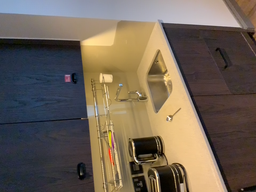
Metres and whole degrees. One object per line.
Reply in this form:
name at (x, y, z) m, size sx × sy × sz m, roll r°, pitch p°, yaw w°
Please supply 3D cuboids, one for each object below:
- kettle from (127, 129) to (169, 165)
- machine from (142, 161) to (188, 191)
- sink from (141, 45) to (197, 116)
kettle at (0.140, 0.380, 1.590) m, size 0.160 × 0.240 × 0.200 m, roll 114°, pitch 150°, yaw -55°
machine at (0.230, 0.560, 1.340) m, size 0.220 × 0.190 × 0.250 m, roll 127°, pitch 138°, yaw -65°
sink at (0.290, -0.110, 1.660) m, size 0.390 × 0.200 × 0.390 m, roll 114°, pitch 150°, yaw -55°
